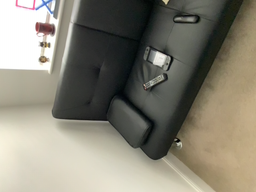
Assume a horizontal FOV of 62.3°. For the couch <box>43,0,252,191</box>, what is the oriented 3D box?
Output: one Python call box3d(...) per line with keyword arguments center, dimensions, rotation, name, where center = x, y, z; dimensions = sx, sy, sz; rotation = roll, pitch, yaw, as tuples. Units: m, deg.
box3d(center=(0.120, -0.470, 1.440), dimensions=(0.840, 0.800, 1.860), rotation=(37, 119, 38), name="couch")
